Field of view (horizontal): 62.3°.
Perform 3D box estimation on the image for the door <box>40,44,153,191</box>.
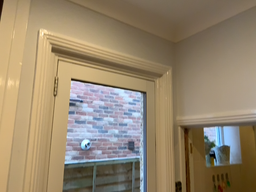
[{"bbox_3d":[-0.140,0.850,1.180,0.720,2.220,0.050,9,-14,-36],"label":"door"}]
